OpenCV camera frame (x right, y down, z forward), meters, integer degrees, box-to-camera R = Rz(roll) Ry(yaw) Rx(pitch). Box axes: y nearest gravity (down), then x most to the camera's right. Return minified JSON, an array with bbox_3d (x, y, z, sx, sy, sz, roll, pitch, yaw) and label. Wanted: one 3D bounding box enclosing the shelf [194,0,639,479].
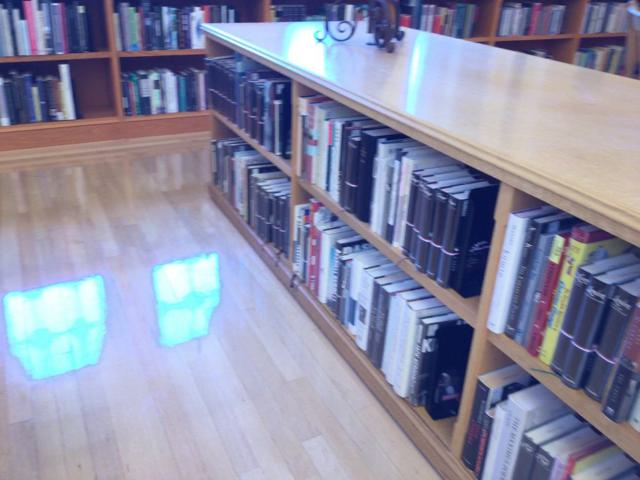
[{"bbox_3d":[0.460,-0.060,1.610,0.880,0.790,2.680,-6,30,-27],"label":"shelf"}]
